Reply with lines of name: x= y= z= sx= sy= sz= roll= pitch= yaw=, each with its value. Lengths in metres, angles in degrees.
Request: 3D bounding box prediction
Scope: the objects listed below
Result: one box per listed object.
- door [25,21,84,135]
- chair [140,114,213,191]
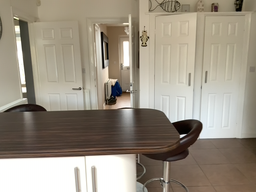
door: x=-1.260 y=-0.270 z=3.750 sx=0.830 sy=1.970 sz=0.170 roll=0 pitch=11 yaw=3
chair: x=0.340 y=0.650 z=1.740 sx=0.460 sy=0.890 sz=0.500 roll=-1 pitch=11 yaw=0
